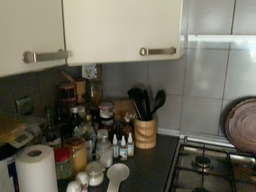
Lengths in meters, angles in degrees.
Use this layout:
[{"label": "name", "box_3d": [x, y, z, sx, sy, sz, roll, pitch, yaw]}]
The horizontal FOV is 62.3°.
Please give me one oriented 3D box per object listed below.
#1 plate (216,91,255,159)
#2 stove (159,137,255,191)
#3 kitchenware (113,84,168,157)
[{"label": "plate", "box_3d": [0.610, 0.140, 1.030, 0.300, 0.260, 0.180, 7, 17, 20]}, {"label": "stove", "box_3d": [0.410, 0.410, 0.870, 0.510, 0.170, 0.570, 7, 17, 19]}, {"label": "kitchenware", "box_3d": [0.070, 0.120, 1.160, 0.260, 0.320, 0.200, 5, 16, 12]}]
